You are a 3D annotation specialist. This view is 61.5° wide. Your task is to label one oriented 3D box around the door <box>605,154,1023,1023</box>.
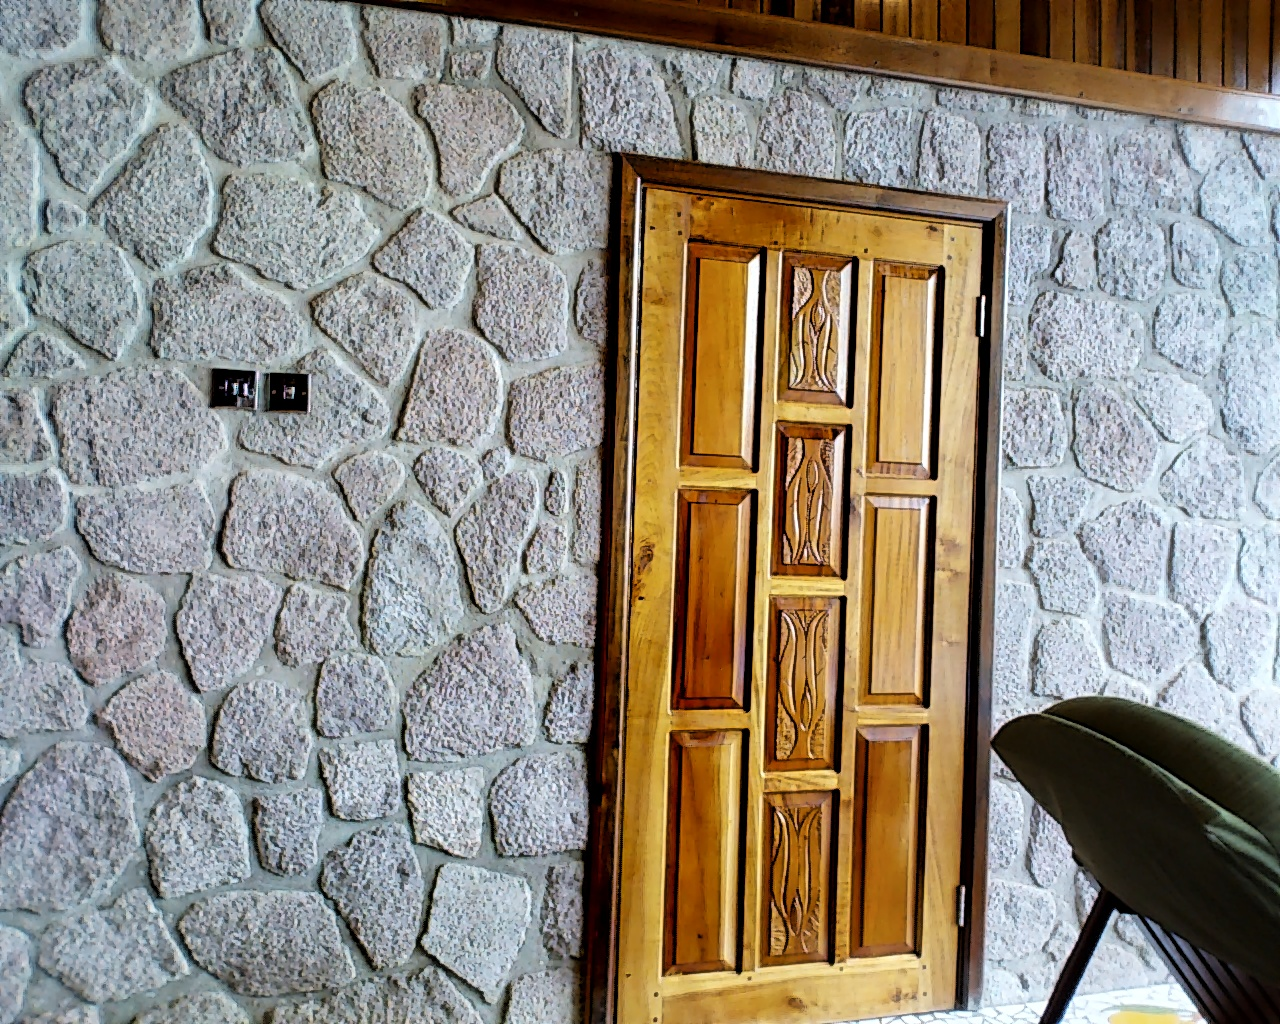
[{"bbox_3d":[0.450,0.210,2.670,1.020,2.050,0.080,2,0,-16],"label":"door"}]
